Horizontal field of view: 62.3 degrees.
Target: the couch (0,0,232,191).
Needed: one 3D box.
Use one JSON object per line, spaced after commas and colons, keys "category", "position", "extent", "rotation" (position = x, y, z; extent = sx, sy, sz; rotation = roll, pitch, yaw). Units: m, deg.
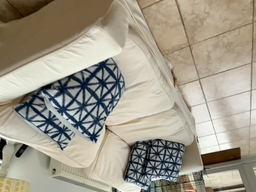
{"category": "couch", "position": [0.190, 0.240, 1.860], "extent": [0.990, 0.740, 2.060], "rotation": [-18, 142, 19]}
